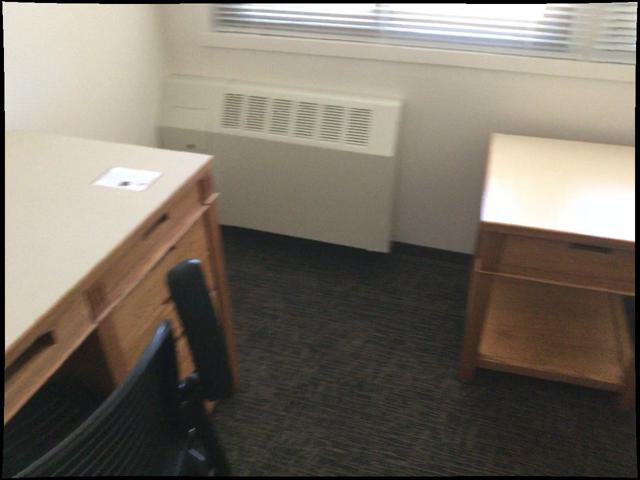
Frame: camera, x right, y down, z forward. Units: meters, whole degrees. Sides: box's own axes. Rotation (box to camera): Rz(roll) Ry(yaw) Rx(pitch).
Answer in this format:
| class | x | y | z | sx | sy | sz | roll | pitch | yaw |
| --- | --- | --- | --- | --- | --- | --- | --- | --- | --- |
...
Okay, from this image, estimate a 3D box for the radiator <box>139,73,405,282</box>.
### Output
| class | x | y | z | sx | sy | sz | roll | pitch | yaw |
| --- | --- | --- | --- | --- | --- | --- | --- | --- | --- |
| radiator | -0.160 | -0.231 | 2.130 | 0.888 | 0.651 | 0.190 | 10 | 38 | 16 |
